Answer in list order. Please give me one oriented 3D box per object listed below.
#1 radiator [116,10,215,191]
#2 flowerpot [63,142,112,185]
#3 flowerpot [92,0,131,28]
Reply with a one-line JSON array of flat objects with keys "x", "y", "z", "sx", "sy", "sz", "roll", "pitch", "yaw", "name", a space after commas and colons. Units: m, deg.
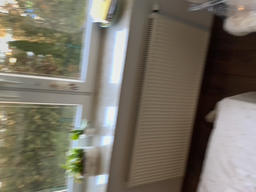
[{"x": 0.310, "y": 0.070, "z": 1.670, "sx": 0.150, "sy": 0.690, "sz": 1.240, "roll": 14, "pitch": 98, "yaw": 57, "name": "radiator"}, {"x": -0.290, "y": 0.460, "z": 1.500, "sx": 0.240, "sy": 0.250, "sz": 0.190, "roll": 13, "pitch": 97, "yaw": 57, "name": "flowerpot"}, {"x": -0.110, "y": -0.550, "z": 1.380, "sx": 0.200, "sy": 0.160, "sz": 0.150, "roll": 14, "pitch": 98, "yaw": 57, "name": "flowerpot"}]
